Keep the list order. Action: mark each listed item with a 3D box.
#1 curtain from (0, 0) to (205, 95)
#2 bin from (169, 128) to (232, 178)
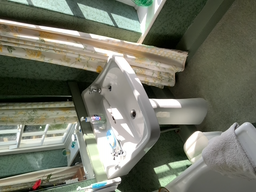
[{"bbox_3d":[-0.270,-0.270,1.450,0.420,1.870,0.300,-59,45,36],"label":"curtain"},{"bbox_3d":[0.510,0.400,1.520,0.250,0.270,0.220,-56,47,38],"label":"bin"}]
